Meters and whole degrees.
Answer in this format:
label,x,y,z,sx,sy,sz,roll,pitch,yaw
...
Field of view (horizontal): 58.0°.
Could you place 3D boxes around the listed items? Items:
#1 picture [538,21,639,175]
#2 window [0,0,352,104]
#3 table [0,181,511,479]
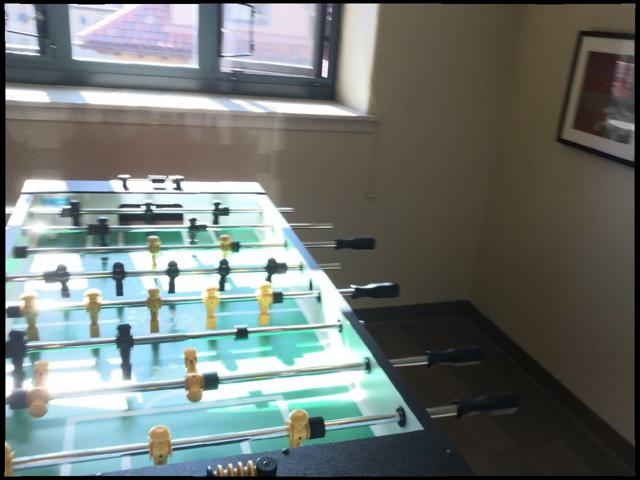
label,x,y,z,sx,sy,sz,roll,pitch,yaw
picture,1.048,-0.541,2.140,0.050,0.481,0.490,-3,23,-21
window,-0.808,-1.253,2.340,1.967,1.252,0.300,-3,23,-21
table,-0.389,0.511,1.410,0.779,0.922,1.440,-3,23,-21
